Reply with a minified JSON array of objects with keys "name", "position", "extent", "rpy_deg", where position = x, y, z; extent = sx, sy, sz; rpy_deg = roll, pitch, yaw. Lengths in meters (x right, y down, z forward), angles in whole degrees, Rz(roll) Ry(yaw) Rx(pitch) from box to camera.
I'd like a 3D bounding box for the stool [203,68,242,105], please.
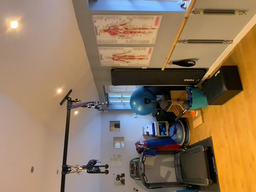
[{"name":"stool","position":[1.430,-0.130,3.290],"extent":[0.630,0.250,0.350],"rpy_deg":[99,170,-70]}]
